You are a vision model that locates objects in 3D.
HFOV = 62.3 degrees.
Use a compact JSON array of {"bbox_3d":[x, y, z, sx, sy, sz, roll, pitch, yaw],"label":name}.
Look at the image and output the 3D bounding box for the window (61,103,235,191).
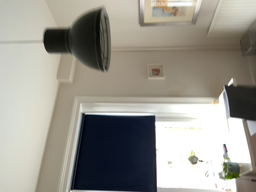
[{"bbox_3d":[0.240,0.690,2.840,0.120,2.080,1.220,84,-172,-63],"label":"window"}]
